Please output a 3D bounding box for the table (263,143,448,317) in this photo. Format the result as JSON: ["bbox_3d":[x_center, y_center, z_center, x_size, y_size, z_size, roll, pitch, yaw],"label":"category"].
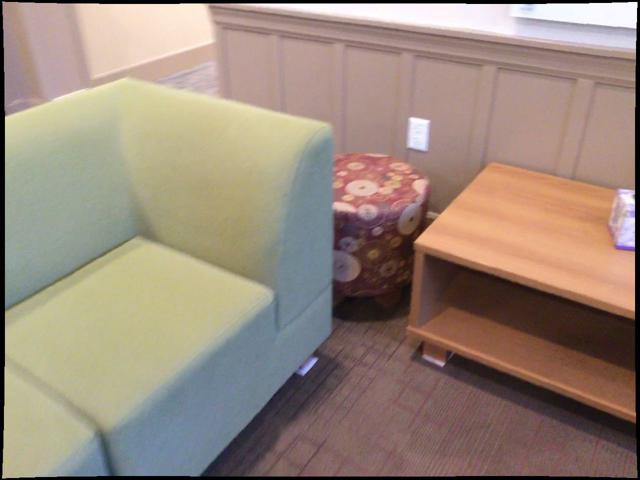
[{"bbox_3d":[0.130,-0.060,2.010,0.449,0.321,0.450,19,39,29],"label":"table"}]

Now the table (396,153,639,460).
[{"bbox_3d":[0.878,0.190,1.680,1.108,0.441,0.650,19,39,29],"label":"table"}]
